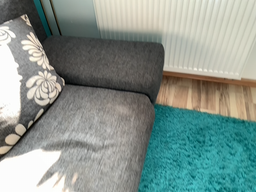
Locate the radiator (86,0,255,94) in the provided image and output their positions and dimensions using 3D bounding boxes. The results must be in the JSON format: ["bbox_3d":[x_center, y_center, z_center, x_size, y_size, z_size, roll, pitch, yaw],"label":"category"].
[{"bbox_3d":[0.290,-0.390,1.420,1.040,0.710,0.190,7,46,10],"label":"radiator"}]
